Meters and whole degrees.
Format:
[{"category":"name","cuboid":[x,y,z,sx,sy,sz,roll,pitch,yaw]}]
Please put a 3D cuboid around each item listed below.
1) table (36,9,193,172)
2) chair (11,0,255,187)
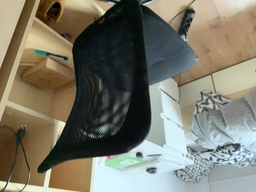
[{"category":"table","cuboid":[-0.010,0.070,1.560,0.510,0.740,0.980,-21,144,31]},{"category":"chair","cuboid":[0.050,-0.170,0.930,0.540,0.960,0.610,-23,143,33]}]
